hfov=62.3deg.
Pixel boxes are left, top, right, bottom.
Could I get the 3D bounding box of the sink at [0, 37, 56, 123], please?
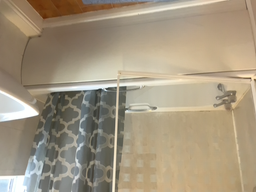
[{"bbox_3d":[-0.640,-0.070,0.870,0.370,0.240,0.630,-2,161,11],"label":"sink"}]
